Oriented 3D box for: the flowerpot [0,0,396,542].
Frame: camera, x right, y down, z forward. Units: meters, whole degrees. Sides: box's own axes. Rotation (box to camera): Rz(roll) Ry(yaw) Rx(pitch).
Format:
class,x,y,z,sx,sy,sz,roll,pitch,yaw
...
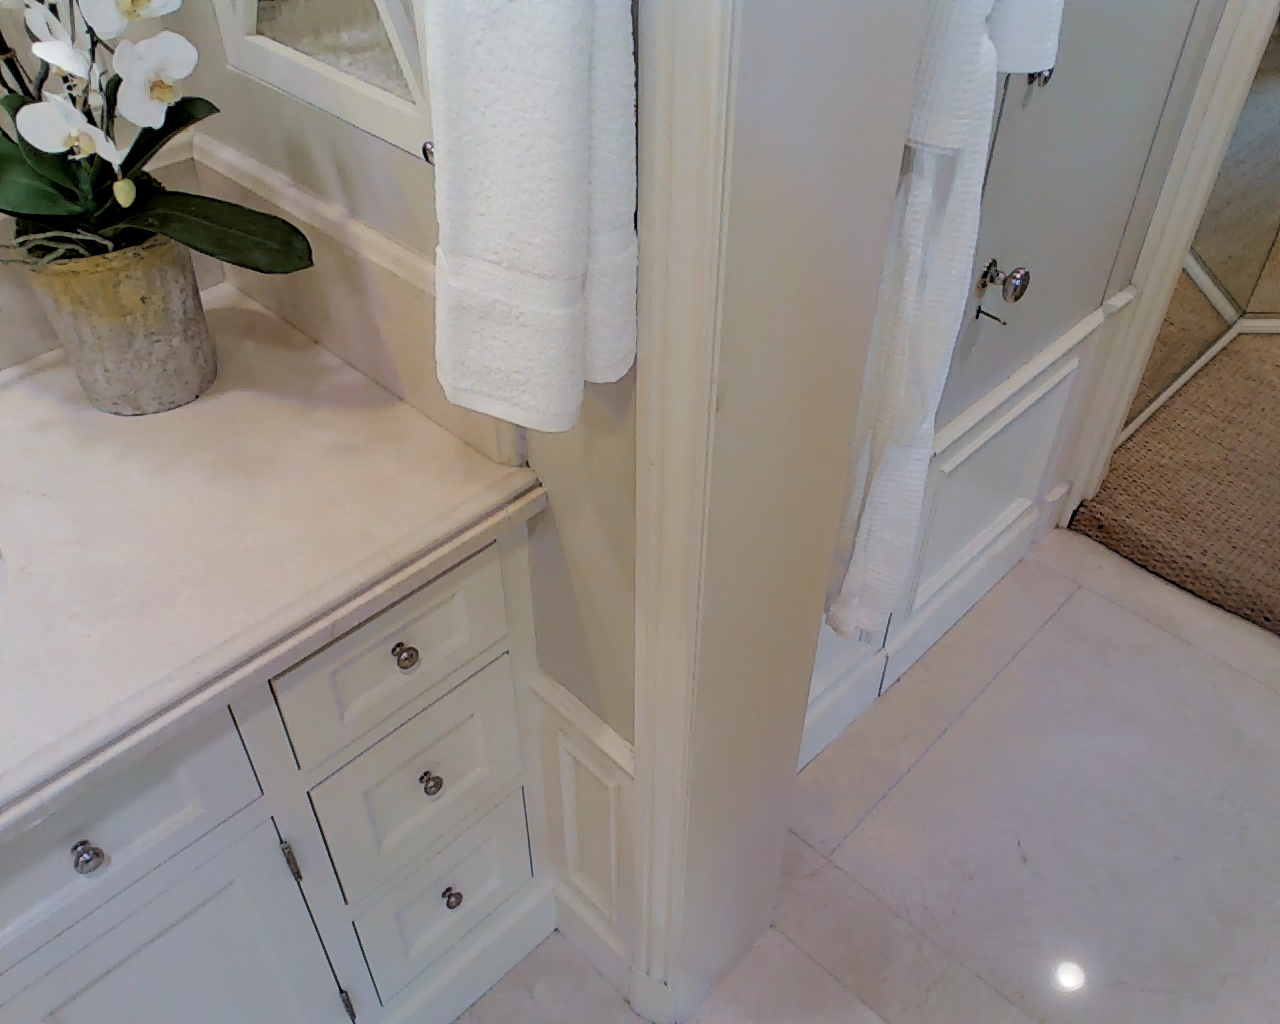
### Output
class,x,y,z,sx,sy,sz,roll,pitch,yaw
flowerpot,-0.510,-0.310,1.000,0.340,0.460,0.360,34,52,31
